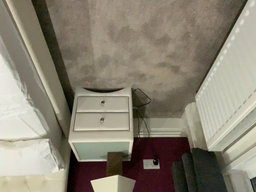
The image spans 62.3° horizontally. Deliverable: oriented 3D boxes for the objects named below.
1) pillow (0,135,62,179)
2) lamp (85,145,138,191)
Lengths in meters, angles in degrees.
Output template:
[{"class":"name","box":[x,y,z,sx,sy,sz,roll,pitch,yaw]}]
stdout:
[{"class":"pillow","box":[-0.830,0.430,1.460,0.640,0.170,0.420,2,146,-6]},{"class":"lamp","box":[-0.120,0.640,1.610,0.350,0.420,0.340,0,146,-4]}]
